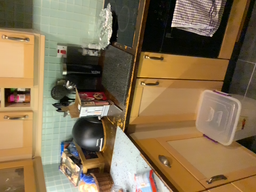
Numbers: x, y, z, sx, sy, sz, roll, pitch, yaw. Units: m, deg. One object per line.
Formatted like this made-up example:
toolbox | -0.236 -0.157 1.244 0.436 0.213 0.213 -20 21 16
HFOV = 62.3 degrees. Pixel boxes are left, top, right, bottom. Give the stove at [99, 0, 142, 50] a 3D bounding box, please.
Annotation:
stove | -0.050 -0.610 1.300 0.510 0.030 0.570 37 123 57

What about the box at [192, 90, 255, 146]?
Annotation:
box | 0.680 0.130 1.430 0.270 0.330 0.270 39 124 56
